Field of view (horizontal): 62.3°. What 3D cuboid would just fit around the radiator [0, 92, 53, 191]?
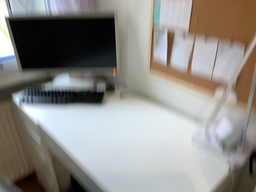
[{"bbox_3d":[-0.820,0.360,1.360,0.170,0.610,0.530,24,37,38],"label":"radiator"}]
